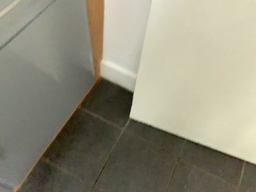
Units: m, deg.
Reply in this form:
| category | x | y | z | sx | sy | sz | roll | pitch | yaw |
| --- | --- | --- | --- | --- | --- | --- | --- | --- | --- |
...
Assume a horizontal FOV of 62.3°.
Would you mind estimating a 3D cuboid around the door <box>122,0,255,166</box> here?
| category | x | y | z | sx | sy | sz | roll | pitch | yaw |
| --- | --- | --- | --- | --- | --- | --- | --- | --- | --- |
| door | 0.460 | -0.220 | 0.340 | 0.870 | 1.940 | 0.030 | 18 | 60 | 5 |
